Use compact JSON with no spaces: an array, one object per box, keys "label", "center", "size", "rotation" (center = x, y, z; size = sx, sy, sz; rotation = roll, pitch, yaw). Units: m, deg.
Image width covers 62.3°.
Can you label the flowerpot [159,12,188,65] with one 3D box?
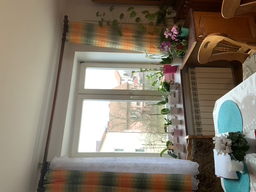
[{"label":"flowerpot","center":[0.560,-0.710,2.700],"size":[0.490,0.220,0.440],"rotation":[99,173,-73]}]

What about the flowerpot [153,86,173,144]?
[{"label":"flowerpot","center":[0.500,0.270,3.070],"size":[0.240,0.210,0.800],"rotation":[98,174,-69]}]

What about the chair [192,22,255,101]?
[{"label":"chair","center":[1.090,-0.280,1.890],"size":[0.430,0.860,0.520],"rotation":[98,174,-69]}]
